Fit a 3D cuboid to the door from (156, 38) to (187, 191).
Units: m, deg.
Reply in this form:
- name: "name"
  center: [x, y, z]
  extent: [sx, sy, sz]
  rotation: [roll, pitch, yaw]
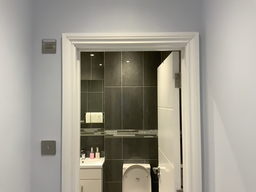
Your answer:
- name: "door"
  center: [0.320, 0.670, 1.690]
  extent: [0.050, 2.030, 0.840]
  rotation: [0, -2, -1]
